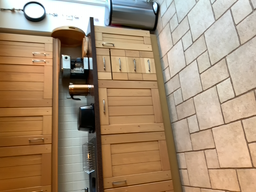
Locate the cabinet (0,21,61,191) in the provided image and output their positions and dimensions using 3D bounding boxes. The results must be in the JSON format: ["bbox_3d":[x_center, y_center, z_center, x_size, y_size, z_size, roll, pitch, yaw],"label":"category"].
[{"bbox_3d":[-1.180,0.470,2.210,0.290,0.900,2.670,136,131,-65],"label":"cabinet"}]

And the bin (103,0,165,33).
[{"bbox_3d":[0.060,-1.150,2.810,0.360,0.700,0.420,138,129,-65],"label":"bin"}]
